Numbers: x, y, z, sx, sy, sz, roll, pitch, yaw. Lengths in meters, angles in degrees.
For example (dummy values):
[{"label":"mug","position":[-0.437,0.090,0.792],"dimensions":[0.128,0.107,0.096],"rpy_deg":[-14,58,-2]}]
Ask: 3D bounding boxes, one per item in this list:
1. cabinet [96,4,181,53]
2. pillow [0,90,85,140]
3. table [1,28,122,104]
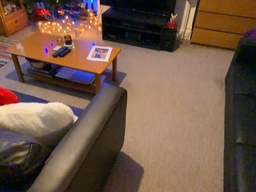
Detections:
[{"label":"cabinet","position":[0.150,-1.030,3.180],"dimensions":[1.160,0.400,0.410],"rpy_deg":[14,41,12]},{"label":"pillow","position":[-0.550,0.120,1.180],"dimensions":[0.570,0.400,0.140],"rpy_deg":[8,69,-13]},{"label":"table","position":[-0.670,-0.360,2.300],"dimensions":[1.080,0.400,0.540],"rpy_deg":[14,41,12]}]
